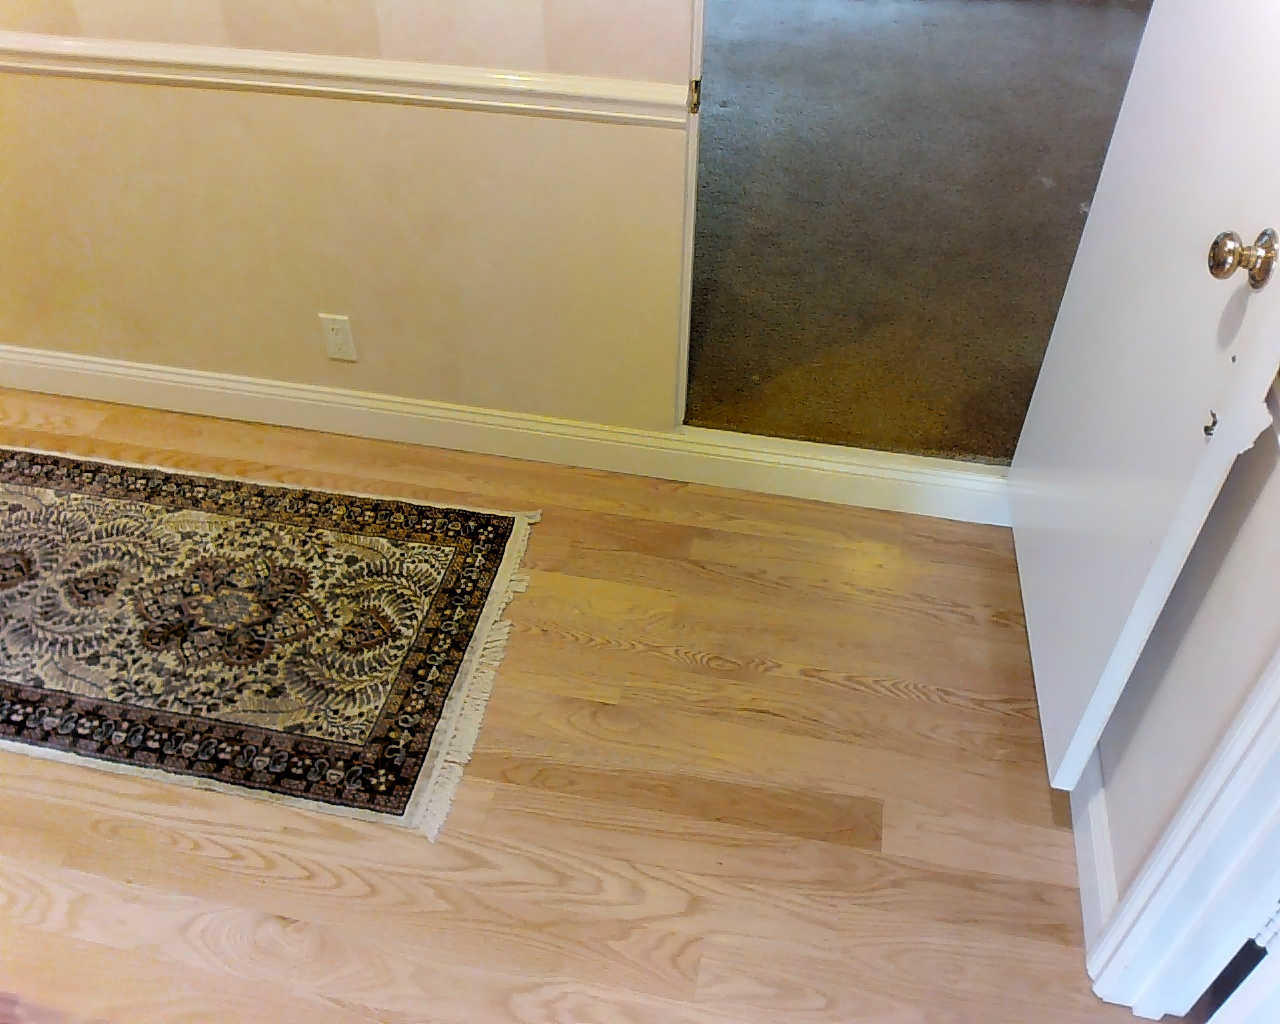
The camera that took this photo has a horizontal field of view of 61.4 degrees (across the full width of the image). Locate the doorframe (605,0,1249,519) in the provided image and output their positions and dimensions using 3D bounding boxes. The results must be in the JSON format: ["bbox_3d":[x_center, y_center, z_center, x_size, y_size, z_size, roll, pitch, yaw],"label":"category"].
[{"bbox_3d":[0.440,-0.870,1.750,0.960,1.970,0.260,8,42,8],"label":"doorframe"}]
